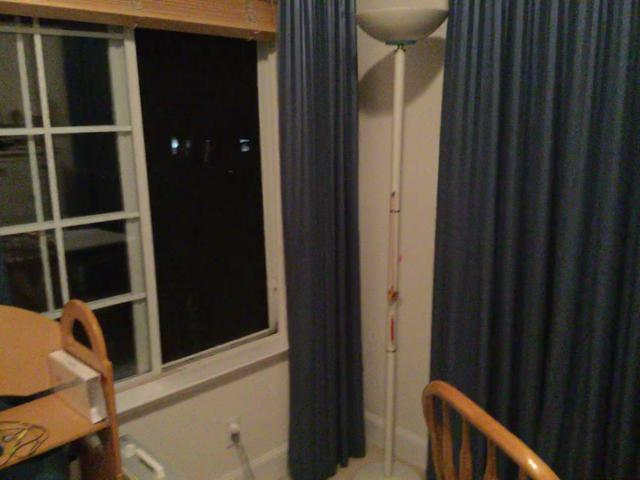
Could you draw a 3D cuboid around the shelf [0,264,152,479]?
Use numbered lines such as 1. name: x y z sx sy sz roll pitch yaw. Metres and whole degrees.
1. shelf: -0.830 0.670 1.410 0.700 1.060 0.420 -13 15 -42
